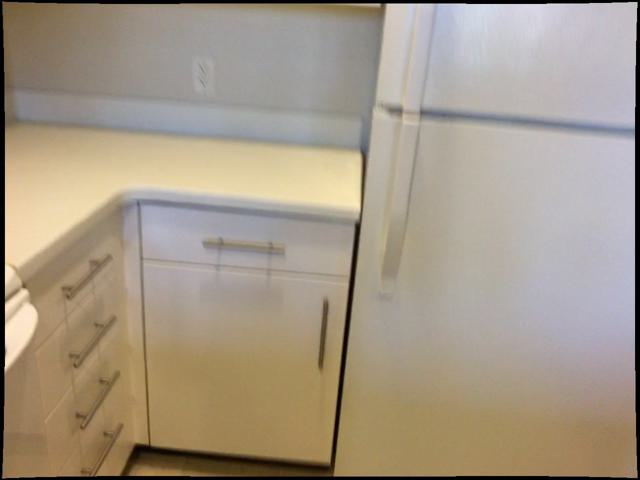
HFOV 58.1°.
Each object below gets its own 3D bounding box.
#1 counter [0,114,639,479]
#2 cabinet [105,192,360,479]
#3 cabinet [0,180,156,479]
[{"bbox_3d":[-0.080,0.291,0.600,2.184,0.090,3.021,5,23,2],"label":"counter"},{"bbox_3d":[-0.239,0.331,1.610,0.618,0.882,0.120,5,23,2],"label":"cabinet"},{"bbox_3d":[-0.549,0.371,1.410,0.080,0.912,0.530,5,23,2],"label":"cabinet"}]
